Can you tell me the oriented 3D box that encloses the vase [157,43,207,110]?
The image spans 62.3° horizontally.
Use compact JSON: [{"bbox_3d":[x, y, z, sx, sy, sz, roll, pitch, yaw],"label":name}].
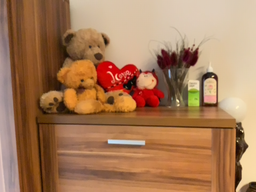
[{"bbox_3d":[0.280,-0.100,1.140,0.240,0.330,0.160,0,5,8],"label":"vase"}]
